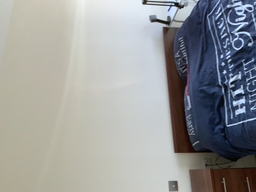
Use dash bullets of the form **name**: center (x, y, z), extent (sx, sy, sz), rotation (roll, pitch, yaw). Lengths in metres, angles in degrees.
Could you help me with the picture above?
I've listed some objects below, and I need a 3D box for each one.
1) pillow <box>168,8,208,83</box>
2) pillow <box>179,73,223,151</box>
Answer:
- **pillow**: center (0.590, -0.500, 2.160), extent (0.390, 0.190, 0.630), rotation (110, 159, -70)
- **pillow**: center (0.630, 0.160, 1.920), extent (0.360, 0.160, 0.630), rotation (110, 160, -70)
